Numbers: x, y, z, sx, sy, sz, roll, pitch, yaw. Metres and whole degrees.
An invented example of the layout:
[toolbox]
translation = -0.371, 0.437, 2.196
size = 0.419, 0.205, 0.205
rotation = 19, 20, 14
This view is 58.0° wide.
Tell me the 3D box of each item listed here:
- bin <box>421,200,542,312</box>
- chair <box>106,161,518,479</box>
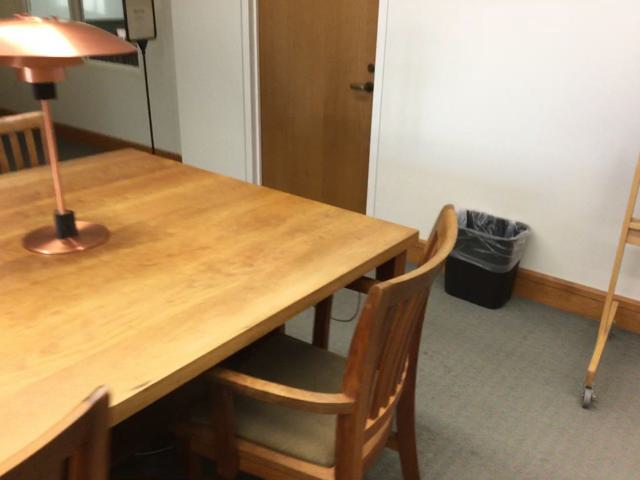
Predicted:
[bin]
translation = 0.750, 0.060, 2.720
size = 0.440, 0.380, 0.260
rotation = 16, 23, 36
[chair]
translation = -0.010, 0.370, 1.440
size = 0.630, 0.960, 0.680
rotation = 16, 23, 36
